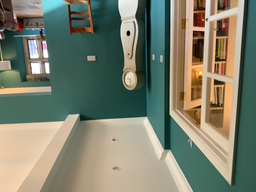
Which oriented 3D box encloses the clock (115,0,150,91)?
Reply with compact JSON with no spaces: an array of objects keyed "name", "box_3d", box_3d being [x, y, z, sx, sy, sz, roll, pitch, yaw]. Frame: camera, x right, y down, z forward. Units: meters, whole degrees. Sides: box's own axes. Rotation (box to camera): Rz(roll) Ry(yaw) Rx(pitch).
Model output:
[{"name":"clock","box_3d":[0.070,-1.090,3.570,0.280,1.950,0.520,-13,-163,-42]}]
